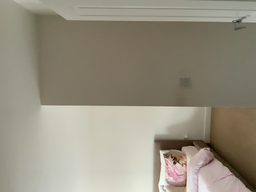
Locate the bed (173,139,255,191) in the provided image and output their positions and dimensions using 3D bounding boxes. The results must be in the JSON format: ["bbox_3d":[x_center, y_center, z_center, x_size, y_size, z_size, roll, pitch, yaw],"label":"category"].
[{"bbox_3d":[1.250,1.800,3.210,2.200,0.620,1.650,-94,4,-83],"label":"bed"}]

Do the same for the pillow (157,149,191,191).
[{"bbox_3d":[0.840,1.360,3.890,0.150,0.450,0.650,-94,-11,-84],"label":"pillow"}]
